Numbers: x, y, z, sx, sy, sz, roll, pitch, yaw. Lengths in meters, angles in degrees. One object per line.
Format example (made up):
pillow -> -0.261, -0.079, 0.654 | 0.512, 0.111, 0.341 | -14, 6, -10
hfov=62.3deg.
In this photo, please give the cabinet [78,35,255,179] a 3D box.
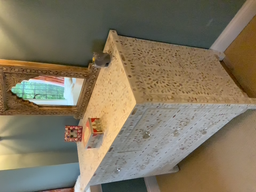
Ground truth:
cabinet -> 0.200, 0.140, 1.480 | 0.880, 0.890, 0.450 | 119, 144, -45
